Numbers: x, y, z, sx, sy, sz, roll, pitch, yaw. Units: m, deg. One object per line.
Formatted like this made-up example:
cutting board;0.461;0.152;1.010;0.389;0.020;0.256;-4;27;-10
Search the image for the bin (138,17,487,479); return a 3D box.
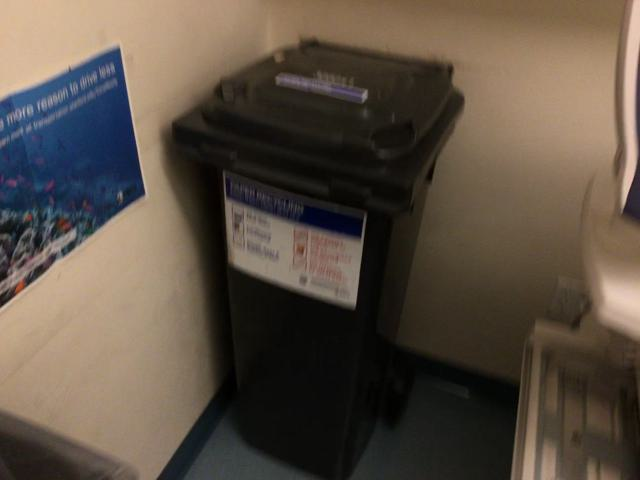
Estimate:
bin;0.020;0.090;1.480;0.500;1.080;0.580;15;38;20
